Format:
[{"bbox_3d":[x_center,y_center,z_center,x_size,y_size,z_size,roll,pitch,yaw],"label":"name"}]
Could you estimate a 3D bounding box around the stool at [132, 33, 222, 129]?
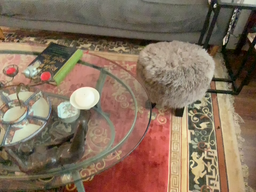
[{"bbox_3d":[0.280,-0.100,1.360,0.450,0.380,0.430,6,49,6],"label":"stool"}]
